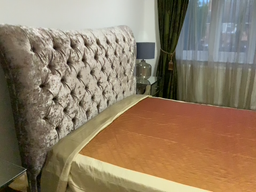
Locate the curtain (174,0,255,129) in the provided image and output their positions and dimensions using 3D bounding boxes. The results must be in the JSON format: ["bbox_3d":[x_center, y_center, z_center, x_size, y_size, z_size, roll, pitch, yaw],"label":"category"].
[{"bbox_3d":[1.480,-0.570,3.080,1.470,2.060,0.150,7,19,23],"label":"curtain"}]

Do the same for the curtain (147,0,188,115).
[{"bbox_3d":[0.620,-0.760,3.410,0.530,2.150,0.180,7,19,23],"label":"curtain"}]

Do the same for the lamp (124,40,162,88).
[{"bbox_3d":[0.220,-0.480,3.060,0.390,0.600,0.450,8,19,25],"label":"lamp"}]
